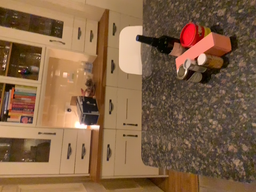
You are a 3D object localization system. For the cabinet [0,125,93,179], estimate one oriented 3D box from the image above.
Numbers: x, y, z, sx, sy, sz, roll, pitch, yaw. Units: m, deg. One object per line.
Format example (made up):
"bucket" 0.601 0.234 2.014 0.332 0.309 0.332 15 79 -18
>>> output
"cabinet" -1.150 0.620 2.380 0.350 1.410 0.530 154 120 -63

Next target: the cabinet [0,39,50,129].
"cabinet" -1.410 -0.130 2.450 0.310 0.830 0.950 154 120 -63

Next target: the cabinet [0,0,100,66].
"cabinet" -1.110 -0.810 2.720 0.350 1.420 0.510 154 120 -63
